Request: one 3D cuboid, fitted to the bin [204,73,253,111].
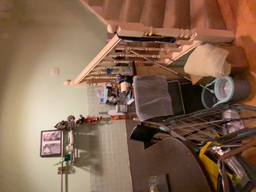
[{"bbox_3d":[0.910,-0.030,1.960,0.340,0.200,0.260,131,136,-68],"label":"bin"}]

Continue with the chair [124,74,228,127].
[{"bbox_3d":[0.470,0.050,2.240,0.430,0.920,0.430,129,138,-68],"label":"chair"}]
